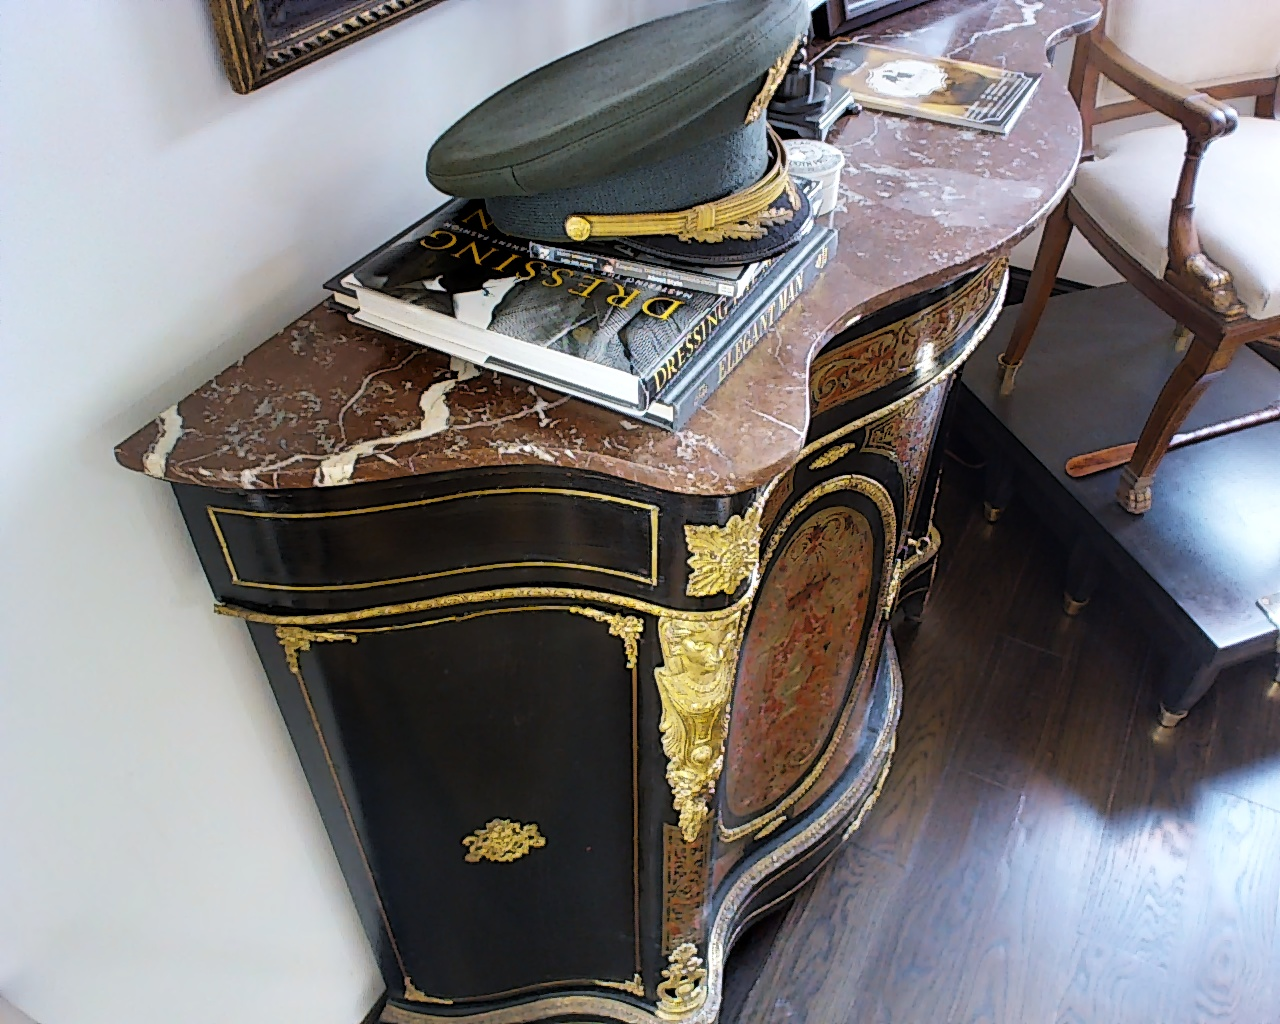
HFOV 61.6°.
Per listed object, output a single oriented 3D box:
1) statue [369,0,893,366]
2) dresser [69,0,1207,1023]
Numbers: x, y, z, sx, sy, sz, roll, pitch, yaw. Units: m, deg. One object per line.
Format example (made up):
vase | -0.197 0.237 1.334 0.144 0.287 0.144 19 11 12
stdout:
statue | 0.010 -0.270 0.720 0.220 0.170 0.280 21 47 21
dresser | 0.180 0.040 1.390 0.510 1.080 1.330 21 47 21
